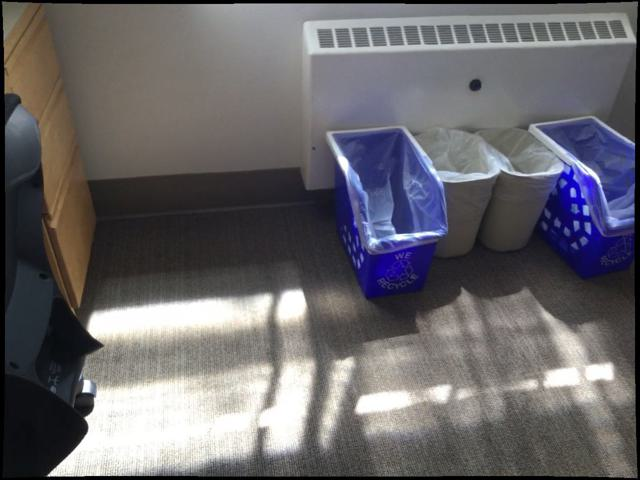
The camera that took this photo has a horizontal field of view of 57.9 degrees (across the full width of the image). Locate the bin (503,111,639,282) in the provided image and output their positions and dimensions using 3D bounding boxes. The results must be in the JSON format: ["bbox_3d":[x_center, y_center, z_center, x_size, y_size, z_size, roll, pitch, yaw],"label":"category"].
[{"bbox_3d":[0.839,-0.150,1.820,0.290,0.330,0.430,-5,40,-9],"label":"bin"}]

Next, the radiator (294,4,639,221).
[{"bbox_3d":[0.450,-0.400,1.860,1.049,0.620,0.170,-5,40,-9],"label":"radiator"}]

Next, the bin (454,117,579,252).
[{"bbox_3d":[0.609,-0.180,1.850,0.220,0.320,0.270,-5,40,-9],"label":"bin"}]

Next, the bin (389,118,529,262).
[{"bbox_3d":[0.410,-0.160,1.800,0.290,0.320,0.290,-5,40,-9],"label":"bin"}]

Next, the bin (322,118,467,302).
[{"bbox_3d":[0.190,-0.100,1.710,0.290,0.340,0.420,-5,40,-9],"label":"bin"}]
